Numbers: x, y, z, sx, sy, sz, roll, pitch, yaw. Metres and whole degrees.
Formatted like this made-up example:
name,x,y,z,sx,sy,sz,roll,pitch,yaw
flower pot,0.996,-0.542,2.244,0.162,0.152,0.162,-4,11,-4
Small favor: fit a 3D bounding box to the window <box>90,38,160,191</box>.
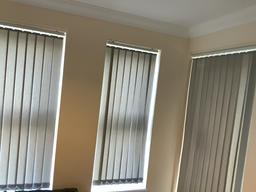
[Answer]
name,x,y,z,sx,sy,sz,roll,pitch,yaw
window,-0.030,0.260,2.300,0.590,1.660,0.040,6,3,-19
